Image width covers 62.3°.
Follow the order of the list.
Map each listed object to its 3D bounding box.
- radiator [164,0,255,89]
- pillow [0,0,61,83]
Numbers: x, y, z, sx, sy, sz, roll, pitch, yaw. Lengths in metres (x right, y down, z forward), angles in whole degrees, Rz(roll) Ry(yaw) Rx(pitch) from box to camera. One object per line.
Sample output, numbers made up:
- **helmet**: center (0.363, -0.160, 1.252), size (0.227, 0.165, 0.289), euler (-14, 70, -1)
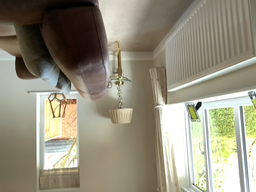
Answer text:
- **radiator**: center (0.570, -0.470, 1.660), size (0.160, 0.660, 1.370), euler (-2, 175, -7)
- **pillow**: center (-0.520, -0.350, 1.190), size (0.200, 0.490, 0.410), euler (-1, 175, -8)
